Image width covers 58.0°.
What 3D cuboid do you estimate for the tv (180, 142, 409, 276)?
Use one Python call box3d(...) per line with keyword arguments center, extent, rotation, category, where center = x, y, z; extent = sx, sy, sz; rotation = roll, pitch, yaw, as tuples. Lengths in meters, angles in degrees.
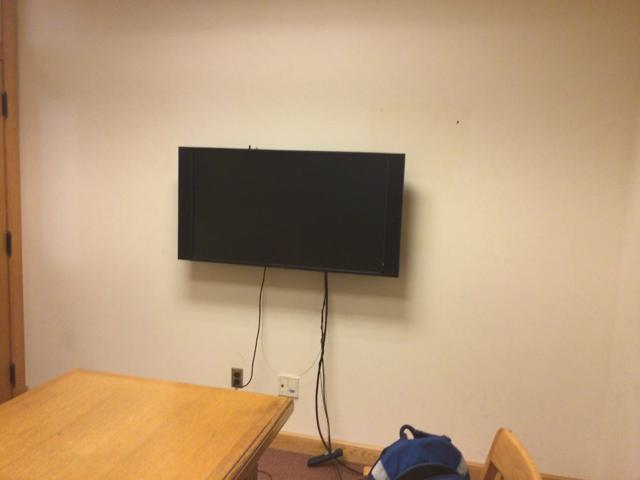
box3d(center=(-0.140, -0.170, 2.830), extent=(1.090, 0.570, 0.210), rotation=(4, 8, 15), category="tv")
